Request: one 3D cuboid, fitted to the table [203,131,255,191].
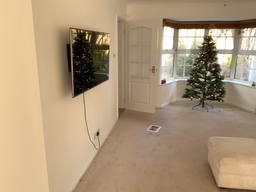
[{"bbox_3d":[1.290,0.760,2.480,0.660,0.420,0.660,3,15,10],"label":"table"}]

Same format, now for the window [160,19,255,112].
[{"bbox_3d":[2.080,-0.750,5.130,2.440,2.010,0.800,3,15,10],"label":"window"}]

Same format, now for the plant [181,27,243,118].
[{"bbox_3d":[1.810,-0.590,4.860,1.020,1.810,1.080,4,15,14],"label":"plant"}]
